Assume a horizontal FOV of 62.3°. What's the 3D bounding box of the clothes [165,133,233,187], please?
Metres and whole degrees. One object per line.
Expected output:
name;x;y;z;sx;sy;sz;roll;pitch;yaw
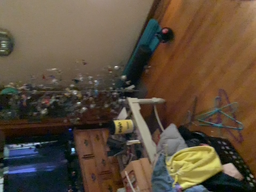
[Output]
clothes;0.460;0.430;1.420;0.230;0.320;0.200;95;157;-55
